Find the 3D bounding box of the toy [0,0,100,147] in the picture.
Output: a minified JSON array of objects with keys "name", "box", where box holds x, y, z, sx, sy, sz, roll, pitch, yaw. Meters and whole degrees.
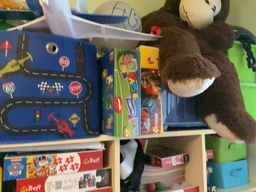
[{"name":"toy","box":[-0.330,-0.080,0.760,0.330,0.440,0.490,2,-5,-24]}]
